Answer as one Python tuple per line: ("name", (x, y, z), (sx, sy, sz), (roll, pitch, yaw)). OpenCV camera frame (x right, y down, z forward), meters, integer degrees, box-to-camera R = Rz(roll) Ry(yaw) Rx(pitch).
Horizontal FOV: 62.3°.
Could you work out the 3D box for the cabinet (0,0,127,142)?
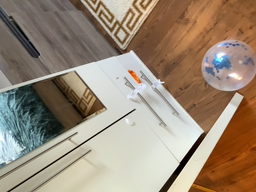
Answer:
("cabinet", (-0.870, -0.580, 1.570), (1.520, 0.840, 0.530), (50, 132, 9))
